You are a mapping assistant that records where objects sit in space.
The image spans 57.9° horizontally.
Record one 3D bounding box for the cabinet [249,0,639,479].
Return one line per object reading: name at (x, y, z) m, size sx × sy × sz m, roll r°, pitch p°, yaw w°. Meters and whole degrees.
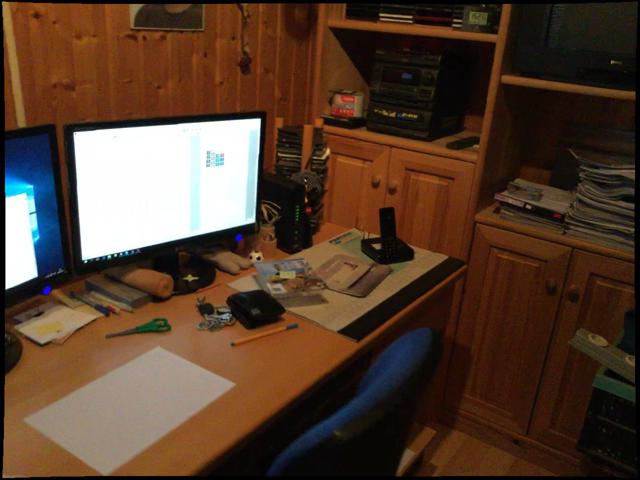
cabinet at (0.799, -0.380, 1.970) m, size 2.109 × 2.222 × 0.670 m, roll 19°, pitch 27°, yaw 30°
